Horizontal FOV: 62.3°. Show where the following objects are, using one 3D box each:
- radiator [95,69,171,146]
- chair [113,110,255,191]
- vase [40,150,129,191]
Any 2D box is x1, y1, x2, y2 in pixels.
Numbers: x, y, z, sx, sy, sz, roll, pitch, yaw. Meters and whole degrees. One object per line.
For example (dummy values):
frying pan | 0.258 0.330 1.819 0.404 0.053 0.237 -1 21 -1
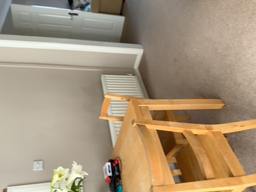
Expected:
radiator | 0.010 0.080 2.730 0.120 0.710 1.170 107 156 -43
chair | 0.410 0.420 1.210 0.590 0.850 0.370 108 154 -45
vase | -0.300 0.760 1.460 0.420 0.540 0.580 107 156 -43
